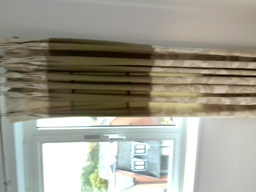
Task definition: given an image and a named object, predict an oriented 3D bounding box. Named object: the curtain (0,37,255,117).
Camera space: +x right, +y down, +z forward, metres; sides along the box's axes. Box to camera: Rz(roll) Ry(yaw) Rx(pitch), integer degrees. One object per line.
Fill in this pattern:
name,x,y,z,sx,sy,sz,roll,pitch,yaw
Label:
curtain,0.260,-0.110,1.480,0.170,2.310,0.470,-122,34,-74
